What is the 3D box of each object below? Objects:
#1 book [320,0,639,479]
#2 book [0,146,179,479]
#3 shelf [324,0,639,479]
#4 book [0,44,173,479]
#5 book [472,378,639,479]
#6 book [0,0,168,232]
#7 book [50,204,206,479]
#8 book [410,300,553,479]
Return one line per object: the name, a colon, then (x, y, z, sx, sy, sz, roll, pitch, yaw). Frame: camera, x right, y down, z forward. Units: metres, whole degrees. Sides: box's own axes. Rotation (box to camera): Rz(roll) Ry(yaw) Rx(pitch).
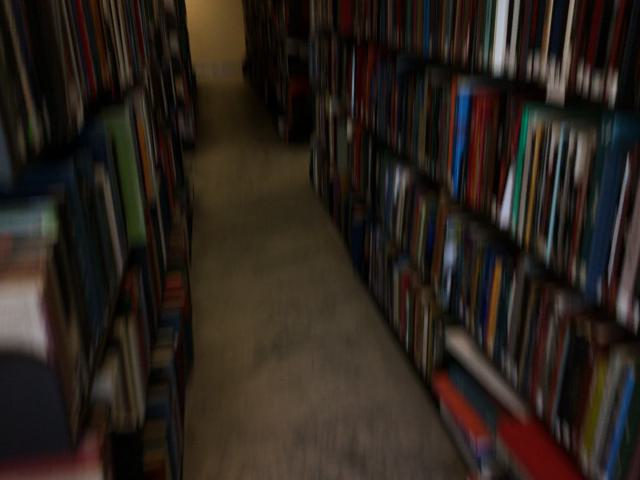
book: (0.430, -0.430, 2.020, 0.360, 1.830, 2.500, -5, 23, -10)
book: (-0.620, 0.140, 1.750, 0.300, 0.390, 1.920, -5, 23, -10)
shelf: (0.490, -0.430, 2.000, 0.430, 1.850, 2.570, -5, 23, -10)
book: (-0.650, -0.260, 1.700, 0.310, 0.440, 2.150, -5, 23, -10)
book: (0.570, 0.530, 1.380, 0.230, 0.140, 0.430, -5, 23, -10)
book: (-0.610, -0.560, 1.500, 0.300, 0.380, 1.990, -5, 23, -10)
book: (-0.560, 0.430, 1.940, 0.300, 0.400, 2.150, -5, 23, -10)
book: (0.470, 0.470, 1.810, 0.190, 0.330, 0.530, -5, 23, -10)
